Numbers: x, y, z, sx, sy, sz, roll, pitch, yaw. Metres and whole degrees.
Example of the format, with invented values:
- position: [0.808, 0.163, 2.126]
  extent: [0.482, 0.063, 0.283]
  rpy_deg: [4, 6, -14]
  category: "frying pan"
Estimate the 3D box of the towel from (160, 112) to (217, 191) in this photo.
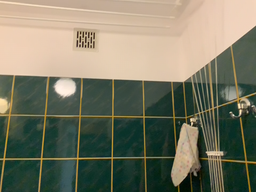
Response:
- position: [0.340, 0.330, 1.260]
  extent: [0.210, 0.430, 0.230]
  rpy_deg: [3, -14, -15]
  category: "towel"
